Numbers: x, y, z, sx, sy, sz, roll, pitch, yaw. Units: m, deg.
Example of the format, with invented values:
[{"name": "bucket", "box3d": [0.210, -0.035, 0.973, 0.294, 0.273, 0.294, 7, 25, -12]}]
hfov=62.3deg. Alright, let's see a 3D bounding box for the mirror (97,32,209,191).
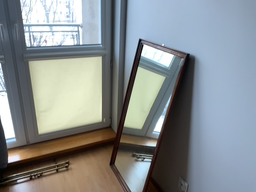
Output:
[{"name": "mirror", "box3d": [0.100, 0.160, 1.890, 0.090, 1.320, 0.850, 6, 18, -36]}]
